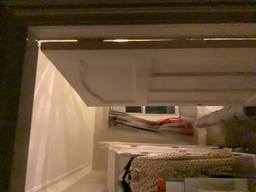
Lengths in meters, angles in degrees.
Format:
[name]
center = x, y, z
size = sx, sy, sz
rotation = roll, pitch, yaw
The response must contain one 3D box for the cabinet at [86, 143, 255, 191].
[cabinet]
center = 0.630, 1.260, 3.810
size = 2.640, 2.190, 0.740
rotation = 86, -175, -77
